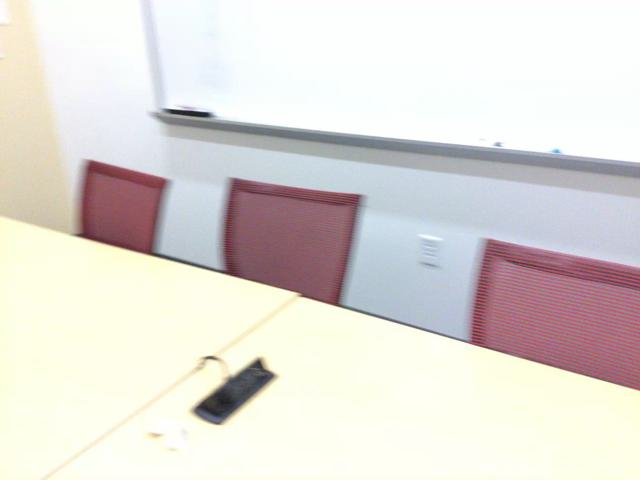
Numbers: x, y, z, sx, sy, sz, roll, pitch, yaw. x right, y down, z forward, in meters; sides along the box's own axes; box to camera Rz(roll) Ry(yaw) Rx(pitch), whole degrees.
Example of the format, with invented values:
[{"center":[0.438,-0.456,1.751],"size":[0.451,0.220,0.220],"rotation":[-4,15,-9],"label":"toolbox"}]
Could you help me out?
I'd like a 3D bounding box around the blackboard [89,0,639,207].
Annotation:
[{"center":[0.330,-0.690,1.990],"size":[3.270,0.900,0.260],"rotation":[12,25,33],"label":"blackboard"}]
